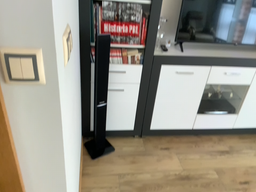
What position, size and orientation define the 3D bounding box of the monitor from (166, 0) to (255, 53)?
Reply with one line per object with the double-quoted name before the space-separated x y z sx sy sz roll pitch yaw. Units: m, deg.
"monitor" 1.010 -0.780 1.930 1.220 0.760 0.060 0 31 -10
